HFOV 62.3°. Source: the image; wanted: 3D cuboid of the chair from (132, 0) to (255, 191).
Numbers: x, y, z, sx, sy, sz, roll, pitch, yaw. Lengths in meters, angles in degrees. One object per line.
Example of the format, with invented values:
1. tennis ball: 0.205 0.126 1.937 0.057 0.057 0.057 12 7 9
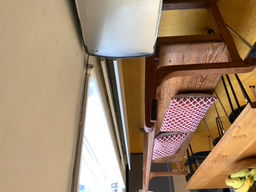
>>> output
1. chair: 0.320 0.240 1.760 0.530 0.820 1.780 -3 146 -1

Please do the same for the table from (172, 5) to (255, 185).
1. table: 0.820 0.160 1.750 0.580 0.740 1.510 -3 146 0
